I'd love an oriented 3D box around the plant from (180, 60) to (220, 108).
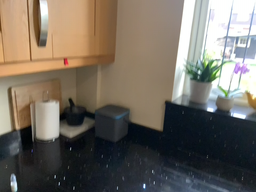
[{"bbox_3d":[0.430,-0.080,1.270,0.170,0.240,0.160,12,18,27],"label":"plant"}]
